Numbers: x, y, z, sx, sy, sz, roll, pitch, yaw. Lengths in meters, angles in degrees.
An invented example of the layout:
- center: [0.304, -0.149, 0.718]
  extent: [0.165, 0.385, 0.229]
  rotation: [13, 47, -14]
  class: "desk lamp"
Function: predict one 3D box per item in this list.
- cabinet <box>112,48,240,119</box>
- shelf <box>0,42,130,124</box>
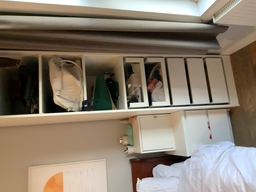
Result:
- center: [0.430, -0.090, 2.150]
  extent: [0.600, 1.060, 0.540]
  rotation: [142, 125, -71]
  class: "cabinet"
- center: [-0.730, -0.070, 1.830]
  extent: [0.600, 1.350, 0.540]
  rotation: [142, 125, -71]
  class: "shelf"
